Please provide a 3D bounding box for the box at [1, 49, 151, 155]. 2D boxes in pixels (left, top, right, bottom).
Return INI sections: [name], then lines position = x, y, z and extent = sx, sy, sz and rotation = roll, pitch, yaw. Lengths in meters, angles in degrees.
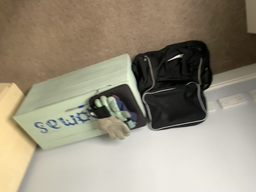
[box]
position = -0.310, 0.060, 1.430
extent = 0.820, 0.350, 0.380
rotation = -16, 128, 12
